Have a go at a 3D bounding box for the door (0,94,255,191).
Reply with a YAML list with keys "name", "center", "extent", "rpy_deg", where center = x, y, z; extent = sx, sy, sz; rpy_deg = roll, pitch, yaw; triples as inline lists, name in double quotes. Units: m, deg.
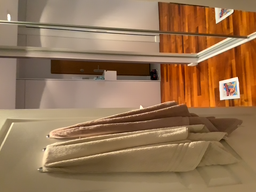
- name: "door"
  center: [0.190, 0.290, 1.160]
  extent: [1.000, 2.080, 0.130]
  rpy_deg: [-112, 26, -58]
